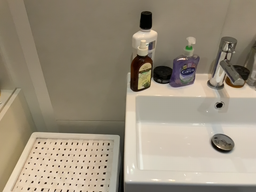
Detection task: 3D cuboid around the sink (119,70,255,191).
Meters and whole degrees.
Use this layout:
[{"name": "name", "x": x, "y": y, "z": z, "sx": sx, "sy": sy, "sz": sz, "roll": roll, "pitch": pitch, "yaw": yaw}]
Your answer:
[{"name": "sink", "x": 0.290, "y": 0.110, "z": 0.640, "sx": 0.610, "sy": 0.160, "sz": 0.420, "roll": 2, "pitch": 38, "yaw": 0}]
